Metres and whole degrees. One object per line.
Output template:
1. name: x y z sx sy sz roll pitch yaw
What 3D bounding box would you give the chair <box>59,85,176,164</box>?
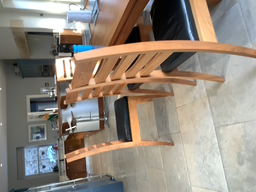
1. chair: -0.140 0.280 2.360 0.520 1.130 0.680 156 109 -68
